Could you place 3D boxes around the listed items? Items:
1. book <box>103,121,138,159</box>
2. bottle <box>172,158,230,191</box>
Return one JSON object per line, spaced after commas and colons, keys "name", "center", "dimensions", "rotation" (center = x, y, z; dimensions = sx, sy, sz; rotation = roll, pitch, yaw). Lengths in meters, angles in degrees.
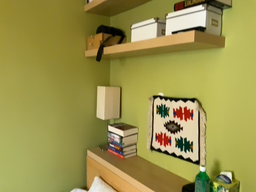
{"name": "book", "center": [-0.070, 0.360, 1.790], "dimensions": [0.150, 0.220, 0.300], "rotation": [-3, 7, -38]}
{"name": "bottle", "center": [0.390, 0.470, 1.150], "dimensions": [0.180, 0.160, 0.230], "rotation": [-3, 7, -36]}
